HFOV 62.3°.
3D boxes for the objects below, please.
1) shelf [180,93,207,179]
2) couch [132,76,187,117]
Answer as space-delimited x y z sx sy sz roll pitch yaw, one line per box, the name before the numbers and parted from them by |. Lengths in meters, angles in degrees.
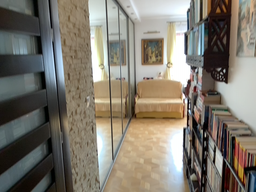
shelf | 0.870 0.520 2.890 0.230 1.030 0.510 0 11 7
couch | 0.870 -0.040 5.890 1.350 0.920 1.090 0 12 8
